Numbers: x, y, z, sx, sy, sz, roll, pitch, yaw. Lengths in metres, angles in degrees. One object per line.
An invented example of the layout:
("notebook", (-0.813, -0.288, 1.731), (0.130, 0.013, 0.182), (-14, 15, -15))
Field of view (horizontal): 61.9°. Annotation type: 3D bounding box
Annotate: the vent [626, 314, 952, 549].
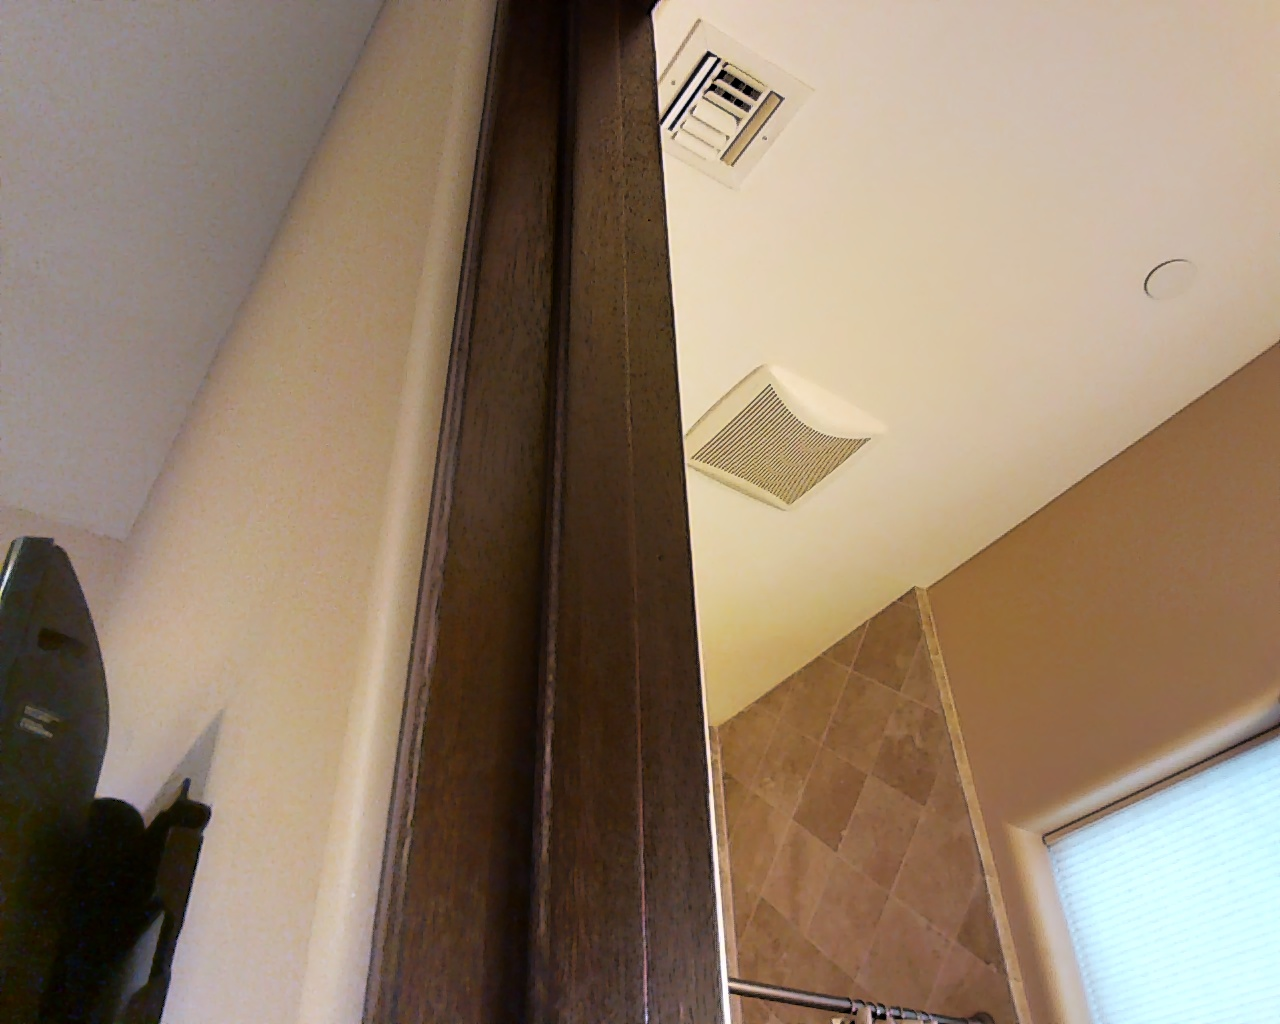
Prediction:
("vent", (0.300, -0.140, 2.190), (0.510, 0.060, 0.420), (22, -46, -26))
